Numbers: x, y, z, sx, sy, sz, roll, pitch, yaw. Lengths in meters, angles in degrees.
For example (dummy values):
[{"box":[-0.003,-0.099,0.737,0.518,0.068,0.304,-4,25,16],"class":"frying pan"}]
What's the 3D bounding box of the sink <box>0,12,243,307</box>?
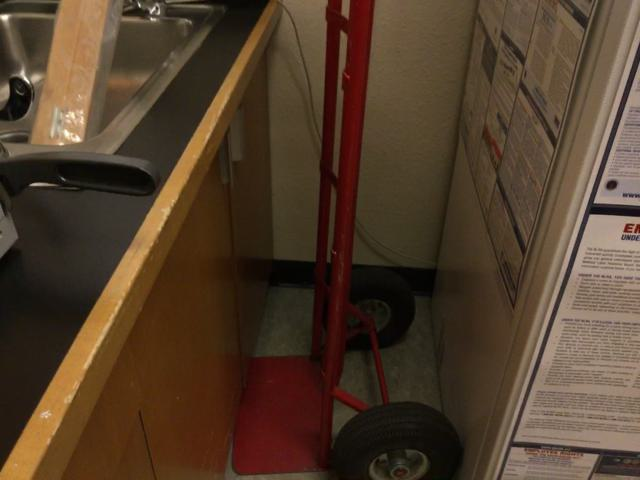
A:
[{"box":[-0.460,-0.210,0.980,0.510,0.190,0.760,2,32,4],"class":"sink"}]
